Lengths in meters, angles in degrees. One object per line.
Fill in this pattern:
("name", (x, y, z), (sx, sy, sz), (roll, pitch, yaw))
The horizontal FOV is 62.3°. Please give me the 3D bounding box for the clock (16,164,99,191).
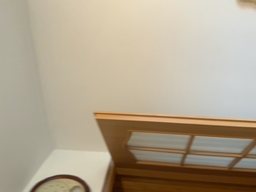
("clock", (-0.470, 0.640, 1.400), (0.400, 0.470, 0.100), (-75, -14, -66))
